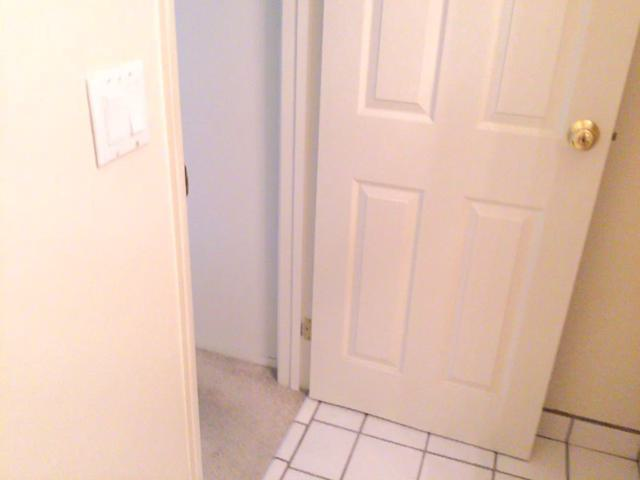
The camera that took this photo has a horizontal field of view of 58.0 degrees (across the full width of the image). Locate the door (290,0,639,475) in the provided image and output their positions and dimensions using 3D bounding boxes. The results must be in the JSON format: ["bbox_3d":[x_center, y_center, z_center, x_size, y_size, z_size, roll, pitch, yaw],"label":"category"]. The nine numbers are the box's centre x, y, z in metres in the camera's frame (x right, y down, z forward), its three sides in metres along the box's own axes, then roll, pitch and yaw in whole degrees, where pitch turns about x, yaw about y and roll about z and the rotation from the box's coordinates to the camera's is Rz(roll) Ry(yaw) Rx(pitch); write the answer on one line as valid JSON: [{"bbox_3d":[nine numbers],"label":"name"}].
[{"bbox_3d":[0.320,0.010,1.570,0.790,1.340,0.080,13,29,17],"label":"door"}]

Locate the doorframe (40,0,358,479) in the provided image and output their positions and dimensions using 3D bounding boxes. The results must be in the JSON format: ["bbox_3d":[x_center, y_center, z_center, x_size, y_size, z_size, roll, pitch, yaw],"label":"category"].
[{"bbox_3d":[-0.190,0.040,1.460,0.230,1.340,0.850,13,29,17],"label":"doorframe"}]

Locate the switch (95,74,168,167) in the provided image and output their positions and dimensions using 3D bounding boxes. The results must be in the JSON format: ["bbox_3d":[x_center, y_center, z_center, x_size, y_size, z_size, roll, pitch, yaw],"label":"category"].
[{"bbox_3d":[-0.260,-0.170,0.810,0.020,0.100,0.120,13,29,17],"label":"switch"}]
